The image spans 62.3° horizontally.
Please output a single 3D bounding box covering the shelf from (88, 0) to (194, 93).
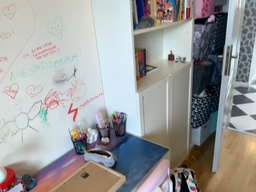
[{"bbox_3d":[0.130,-0.790,1.370,0.310,1.310,0.810,14,30,36],"label":"shelf"}]
